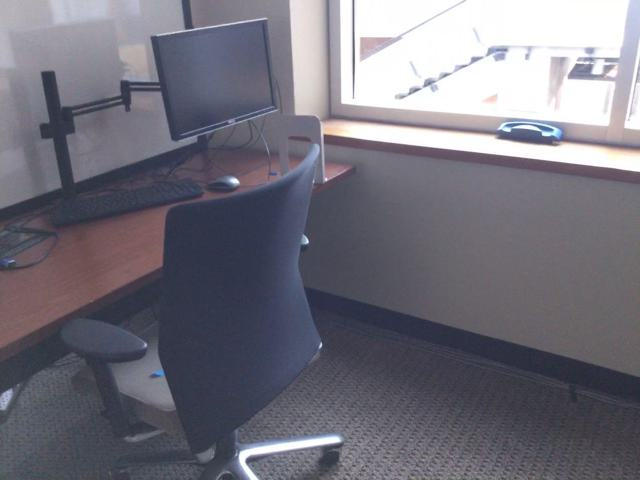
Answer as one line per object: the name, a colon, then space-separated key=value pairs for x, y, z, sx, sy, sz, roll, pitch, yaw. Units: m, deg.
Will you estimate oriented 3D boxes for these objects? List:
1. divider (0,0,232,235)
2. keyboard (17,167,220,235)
divider: x=-0.870 y=-0.570 z=1.740 sx=0.170 sy=1.010 sz=1.490 roll=12 pitch=23 yaw=33
keyboard: x=-0.630 y=-0.140 z=1.850 sx=0.390 sy=0.060 sz=0.470 roll=12 pitch=23 yaw=33
